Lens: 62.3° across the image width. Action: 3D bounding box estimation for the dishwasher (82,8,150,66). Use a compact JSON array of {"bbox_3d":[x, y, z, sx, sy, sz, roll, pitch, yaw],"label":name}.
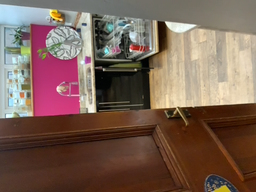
[{"bbox_3d":[-0.220,-0.880,3.390,0.690,0.890,0.660,175,93,-68],"label":"dishwasher"}]
